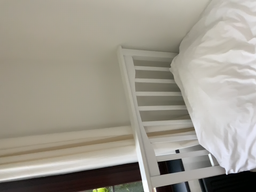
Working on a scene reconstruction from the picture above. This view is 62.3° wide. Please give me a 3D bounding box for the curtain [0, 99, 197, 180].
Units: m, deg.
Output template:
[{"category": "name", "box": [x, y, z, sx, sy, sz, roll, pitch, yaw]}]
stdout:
[{"category": "curtain", "box": [-0.440, 0.230, 1.180, 0.140, 1.780, 0.360, 123, 140, -56]}]
